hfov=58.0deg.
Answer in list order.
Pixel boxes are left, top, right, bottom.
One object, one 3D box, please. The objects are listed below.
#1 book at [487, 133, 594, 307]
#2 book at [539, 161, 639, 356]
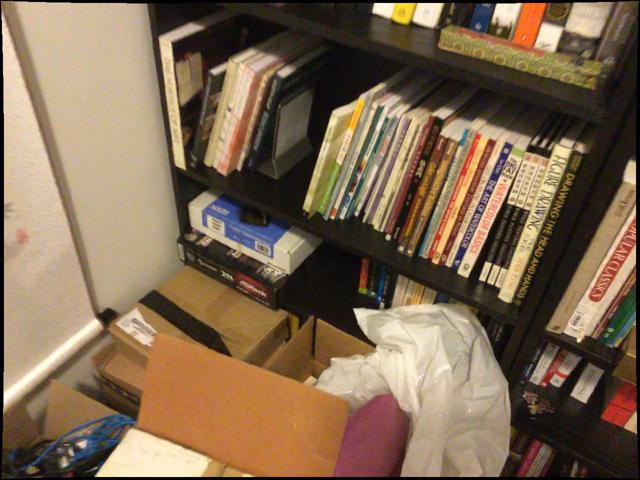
[{"bbox_3d":[0.339,-0.020,0.910,0.060,0.300,0.050,26,47,21],"label":"book"},{"bbox_3d":[0.429,0.040,0.860,0.090,0.310,0.060,26,47,21],"label":"book"}]
